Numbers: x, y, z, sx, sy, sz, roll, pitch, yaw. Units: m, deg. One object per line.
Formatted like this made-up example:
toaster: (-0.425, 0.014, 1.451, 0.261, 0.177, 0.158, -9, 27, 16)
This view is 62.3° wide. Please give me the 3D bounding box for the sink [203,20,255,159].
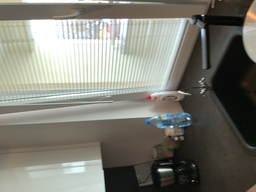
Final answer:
sink: (0.610, -0.040, 0.970, 0.400, 0.210, 0.480, 100, 164, -45)
